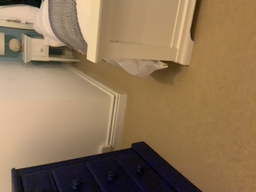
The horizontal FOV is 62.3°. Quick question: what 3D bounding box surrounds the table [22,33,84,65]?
[{"bbox_3d":[-0.950,-0.590,2.690,0.340,0.660,0.290,31,117,52],"label":"table"}]
